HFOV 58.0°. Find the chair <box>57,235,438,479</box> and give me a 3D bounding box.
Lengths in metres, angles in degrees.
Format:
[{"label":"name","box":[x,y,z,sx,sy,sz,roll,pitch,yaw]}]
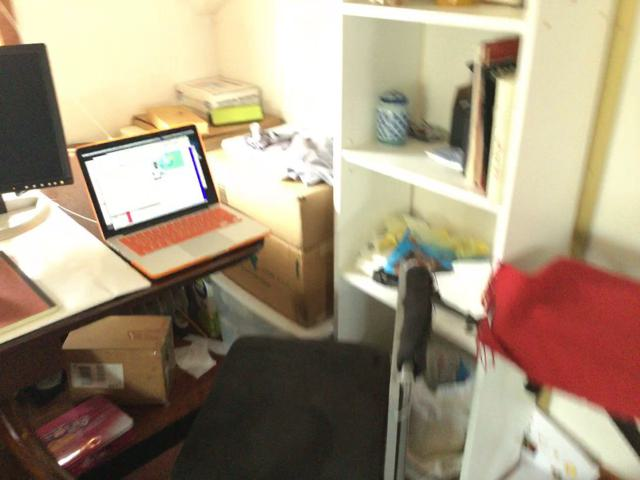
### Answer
[{"label":"chair","box":[-0.070,0.440,1.230,0.590,0.770,0.500,1,20,9]}]
